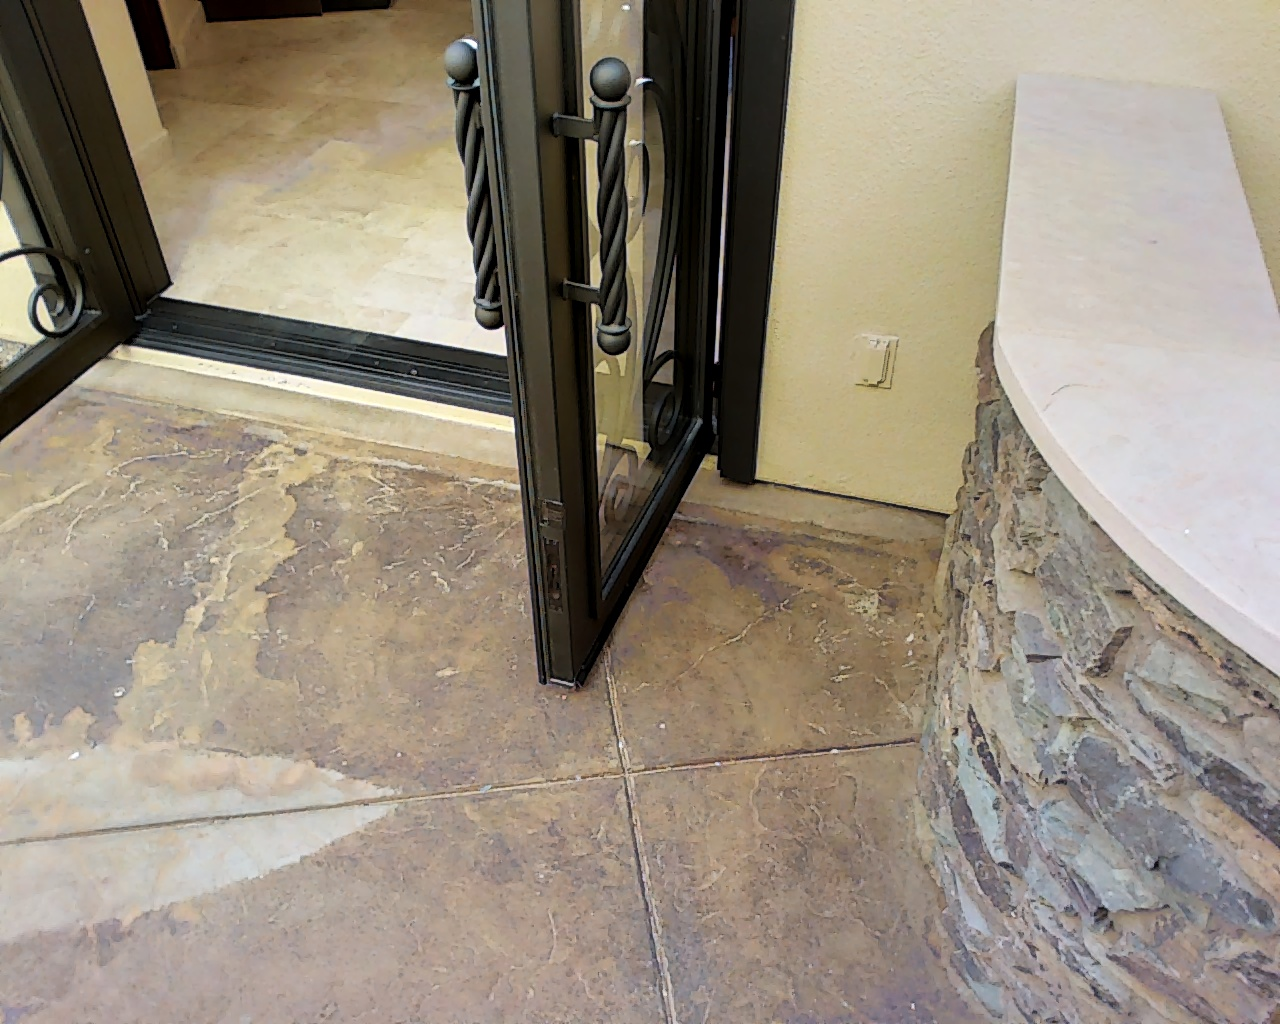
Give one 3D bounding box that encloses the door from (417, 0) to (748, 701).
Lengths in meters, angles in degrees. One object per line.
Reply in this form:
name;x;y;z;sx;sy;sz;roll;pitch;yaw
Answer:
door;-0.030;-0.770;1.520;0.150;2.249;0.850;14;44;15
